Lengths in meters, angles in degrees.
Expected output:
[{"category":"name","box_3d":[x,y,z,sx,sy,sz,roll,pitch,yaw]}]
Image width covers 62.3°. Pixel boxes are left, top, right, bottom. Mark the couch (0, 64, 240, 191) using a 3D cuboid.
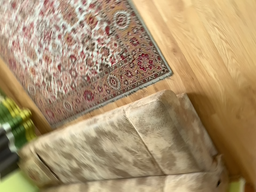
[{"category":"couch","box_3d":[-0.360,0.700,1.820,2.080,0.860,0.960,-23,103,38]}]
